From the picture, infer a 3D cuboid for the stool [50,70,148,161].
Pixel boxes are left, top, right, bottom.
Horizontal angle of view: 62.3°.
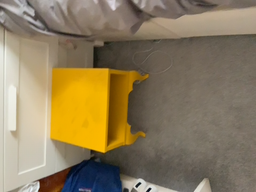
[{"bbox_3d":[-0.150,0.070,1.200,0.380,0.400,0.400,3,94,32],"label":"stool"}]
